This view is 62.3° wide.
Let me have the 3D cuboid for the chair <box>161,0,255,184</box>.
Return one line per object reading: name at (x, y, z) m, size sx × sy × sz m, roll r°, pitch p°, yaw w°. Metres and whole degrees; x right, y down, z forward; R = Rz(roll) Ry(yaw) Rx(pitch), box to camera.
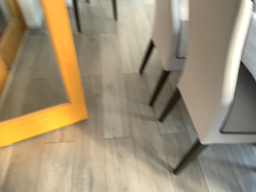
chair at (0.570, -0.020, 1.050) m, size 0.580 × 1.030 × 0.480 m, roll -3°, pitch 48°, yaw -5°
